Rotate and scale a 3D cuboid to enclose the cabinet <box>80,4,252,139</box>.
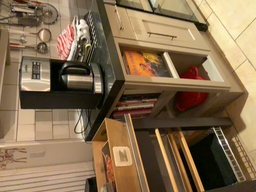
[{"bbox_3d":[0.200,-0.120,1.550,0.620,0.920,0.600,122,141,-47],"label":"cabinet"}]
